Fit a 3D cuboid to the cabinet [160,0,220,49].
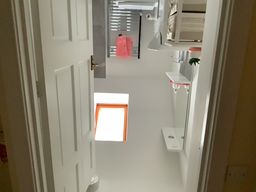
[{"bbox_3d":[0.440,-0.780,1.510,0.320,0.830,0.370,2,-163,2],"label":"cabinet"}]
